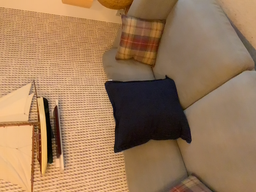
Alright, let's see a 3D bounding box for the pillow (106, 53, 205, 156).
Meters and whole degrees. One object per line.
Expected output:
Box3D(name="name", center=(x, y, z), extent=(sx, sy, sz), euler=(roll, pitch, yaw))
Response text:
Box3D(name="pillow", center=(0.180, 0.070, 1.590), extent=(0.230, 0.540, 0.600), euler=(61, -167, -67))
